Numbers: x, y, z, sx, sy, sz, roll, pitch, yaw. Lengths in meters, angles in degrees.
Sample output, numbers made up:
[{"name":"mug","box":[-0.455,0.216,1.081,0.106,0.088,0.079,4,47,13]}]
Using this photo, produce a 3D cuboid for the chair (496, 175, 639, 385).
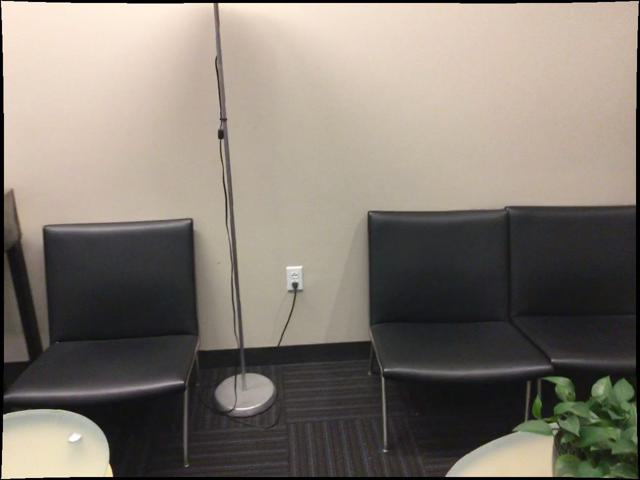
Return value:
[{"name":"chair","box":[1.077,0.110,2.180,0.589,0.471,0.710,-3,26,1]}]

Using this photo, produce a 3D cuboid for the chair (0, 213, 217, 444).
[{"name":"chair","box":[-0.778,0.291,2.150,0.619,0.521,0.690,-3,26,1]}]

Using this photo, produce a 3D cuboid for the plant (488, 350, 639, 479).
[{"name":"plant","box":[0.628,0.491,1.270,0.389,0.311,0.380,-3,26,1]}]

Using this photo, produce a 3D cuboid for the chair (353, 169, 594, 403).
[{"name":"chair","box":[0.489,0.130,2.160,0.668,0.541,0.730,-3,26,1]}]
